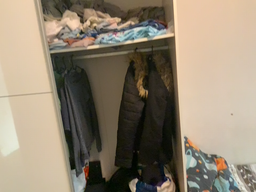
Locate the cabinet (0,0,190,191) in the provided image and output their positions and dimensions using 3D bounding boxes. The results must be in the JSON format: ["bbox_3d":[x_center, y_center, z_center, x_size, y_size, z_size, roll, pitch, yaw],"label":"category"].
[{"bbox_3d":[-0.580,0.280,1.560,1.870,2.170,0.650,-5,13,4],"label":"cabinet"}]

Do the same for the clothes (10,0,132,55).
[{"bbox_3d":[-0.300,-0.460,1.410,0.620,0.290,0.540,-5,13,2],"label":"clothes"}]
